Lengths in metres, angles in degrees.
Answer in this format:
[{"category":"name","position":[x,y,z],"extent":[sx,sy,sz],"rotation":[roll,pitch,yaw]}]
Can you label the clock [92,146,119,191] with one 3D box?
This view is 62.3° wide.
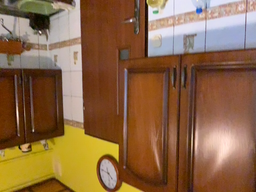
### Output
[{"category":"clock","position":[-0.200,0.640,1.820],"extent":[0.040,0.330,0.340],"rotation":[-4,-173,-42]}]
